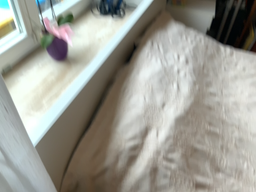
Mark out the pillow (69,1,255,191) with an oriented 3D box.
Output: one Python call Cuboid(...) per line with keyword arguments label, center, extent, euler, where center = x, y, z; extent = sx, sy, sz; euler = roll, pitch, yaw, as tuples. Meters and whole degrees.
Cuboid(label="pillow", center=(0.310, -0.080, 1.150), extent=(0.540, 0.300, 1.440), euler=(15, 45, 11))
